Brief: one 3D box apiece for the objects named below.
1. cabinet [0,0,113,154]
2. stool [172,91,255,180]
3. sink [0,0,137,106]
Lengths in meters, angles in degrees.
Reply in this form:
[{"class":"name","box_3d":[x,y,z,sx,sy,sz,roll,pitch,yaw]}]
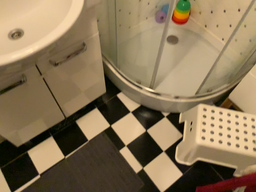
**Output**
[{"class":"cabinet","box_3d":[-0.450,-0.120,1.110,0.630,0.740,0.350,-32,67,-18]},{"class":"stool","box_3d":[0.530,0.230,1.220,0.460,0.260,0.330,14,61,5]},{"class":"sink","box_3d":[-0.390,-0.280,0.770,0.720,0.210,0.440,-32,67,-18]}]
